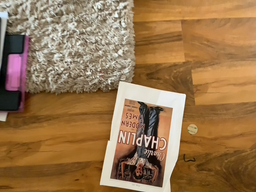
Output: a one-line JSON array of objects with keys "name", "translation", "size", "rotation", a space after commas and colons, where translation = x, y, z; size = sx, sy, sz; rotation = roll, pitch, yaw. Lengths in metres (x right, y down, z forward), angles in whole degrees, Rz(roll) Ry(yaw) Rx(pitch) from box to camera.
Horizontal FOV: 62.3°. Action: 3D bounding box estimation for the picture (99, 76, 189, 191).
[{"name": "picture", "translation": [0.050, 0.110, 0.640], "size": [0.220, 0.060, 0.300], "rotation": [10, 81, -2]}]
